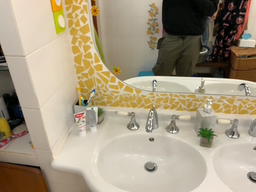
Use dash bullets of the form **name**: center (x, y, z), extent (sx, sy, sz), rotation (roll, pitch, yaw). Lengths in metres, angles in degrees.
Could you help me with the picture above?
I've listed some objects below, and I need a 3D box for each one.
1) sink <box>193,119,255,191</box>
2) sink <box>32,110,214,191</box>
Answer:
- **sink**: center (0.640, 0.340, 0.890), extent (0.630, 0.180, 0.500), rotation (3, 30, 8)
- **sink**: center (0.010, 0.300, 0.970), extent (0.630, 0.180, 0.510), rotation (3, 30, 8)
